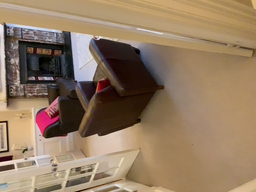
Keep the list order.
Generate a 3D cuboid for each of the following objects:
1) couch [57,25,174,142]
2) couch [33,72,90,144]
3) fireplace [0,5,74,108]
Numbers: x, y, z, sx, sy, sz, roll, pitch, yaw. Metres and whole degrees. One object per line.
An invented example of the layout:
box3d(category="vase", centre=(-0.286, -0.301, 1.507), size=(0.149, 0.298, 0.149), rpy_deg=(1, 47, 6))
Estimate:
box3d(category="couch", centre=(-0.210, -0.140, 2.340), size=(0.880, 0.810, 0.770), rpy_deg=(62, 139, 33))
box3d(category="couch", centre=(-1.300, 0.160, 4.010), size=(0.950, 0.740, 1.030), rpy_deg=(30, 117, 51))
box3d(category="fireplace", centre=(-1.960, -0.740, 4.460), size=(0.750, 1.250, 1.840), rpy_deg=(-16, 79, 56))
